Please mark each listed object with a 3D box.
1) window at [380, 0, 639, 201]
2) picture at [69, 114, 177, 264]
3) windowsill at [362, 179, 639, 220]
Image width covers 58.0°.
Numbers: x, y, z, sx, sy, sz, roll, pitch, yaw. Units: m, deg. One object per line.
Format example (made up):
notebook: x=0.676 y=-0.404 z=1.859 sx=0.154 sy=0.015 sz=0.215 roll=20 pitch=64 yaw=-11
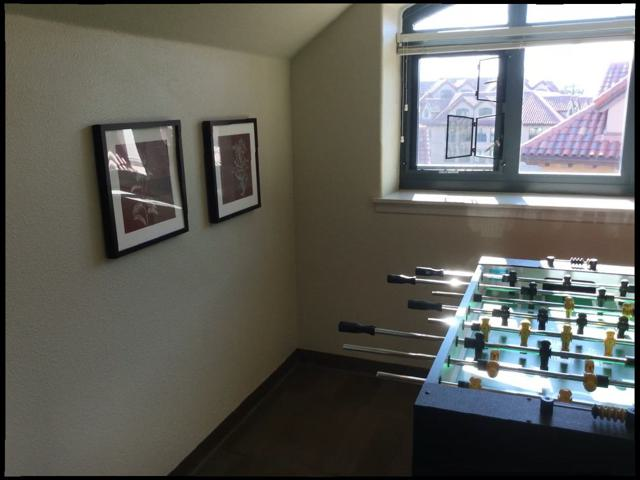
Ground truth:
window: x=1.327 y=-0.872 z=3.070 sx=1.966 sy=1.252 sz=0.300 roll=5 pitch=15 yaw=19
picture: x=-0.669 y=-0.200 z=2.030 sx=0.060 sy=0.461 sz=0.450 roll=5 pitch=15 yaw=19
windowsill: x=1.237 y=-0.210 z=3.020 sx=1.976 sy=0.080 sz=0.450 roll=5 pitch=15 yaw=19
